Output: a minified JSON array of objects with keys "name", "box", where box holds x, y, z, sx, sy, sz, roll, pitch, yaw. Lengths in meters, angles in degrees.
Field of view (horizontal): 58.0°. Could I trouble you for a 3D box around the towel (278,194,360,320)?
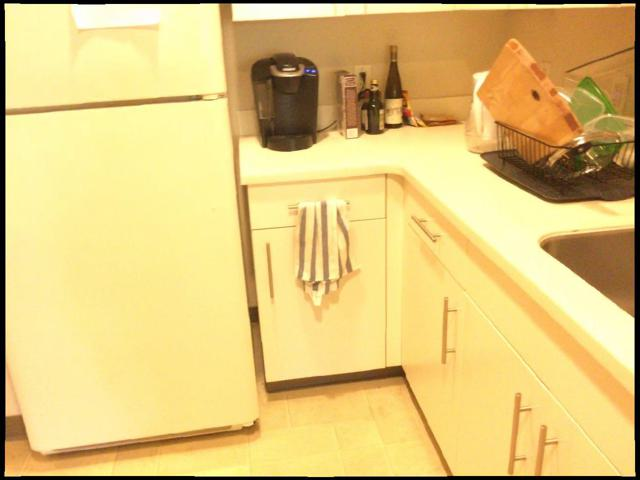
[{"name":"towel","box":[0.000,0.060,1.970,0.259,0.411,0.080,-5,22,-7]}]
